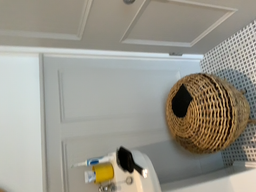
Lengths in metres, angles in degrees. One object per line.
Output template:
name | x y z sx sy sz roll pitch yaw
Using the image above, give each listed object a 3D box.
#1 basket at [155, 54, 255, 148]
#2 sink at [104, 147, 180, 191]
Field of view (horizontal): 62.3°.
basket | 0.520 0.050 1.310 0.440 0.490 0.430 140 125 -62
sink | 0.060 0.540 0.990 0.450 0.170 0.550 144 121 -63
